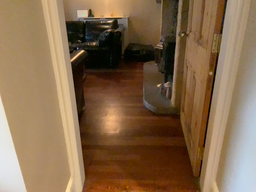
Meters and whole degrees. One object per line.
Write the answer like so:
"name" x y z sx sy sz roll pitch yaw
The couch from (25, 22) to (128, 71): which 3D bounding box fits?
"couch" -0.930 -1.070 4.430 1.760 0.820 1.110 0 23 4
